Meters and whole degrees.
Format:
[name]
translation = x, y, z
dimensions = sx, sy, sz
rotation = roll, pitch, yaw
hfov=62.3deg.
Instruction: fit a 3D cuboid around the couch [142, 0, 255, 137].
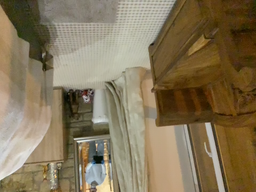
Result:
[couch]
translation = 0.550, -0.190, 1.380
dimensions = 0.580, 0.760, 1.060
rotation = -4, 165, -12
